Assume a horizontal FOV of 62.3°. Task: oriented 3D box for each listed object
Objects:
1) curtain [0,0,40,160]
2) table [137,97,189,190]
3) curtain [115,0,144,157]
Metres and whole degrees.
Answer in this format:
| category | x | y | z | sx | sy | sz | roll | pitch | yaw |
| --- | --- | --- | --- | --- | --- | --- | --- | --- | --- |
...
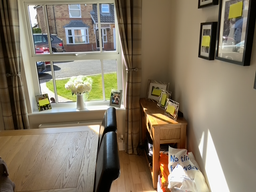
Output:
| category | x | y | z | sx | sy | sz | roll | pitch | yaw |
| --- | --- | --- | --- | --- | --- | --- | --- | --- | --- |
| curtain | -1.410 | -0.270 | 2.500 | 0.300 | 2.190 | 0.250 | 0 | 18 | 5 |
| table | 0.360 | 0.500 | 2.530 | 0.410 | 0.740 | 0.830 | -2 | 18 | -4 |
| curtain | 0.040 | -0.260 | 2.680 | 0.320 | 2.300 | 0.110 | 0 | 18 | 4 |
